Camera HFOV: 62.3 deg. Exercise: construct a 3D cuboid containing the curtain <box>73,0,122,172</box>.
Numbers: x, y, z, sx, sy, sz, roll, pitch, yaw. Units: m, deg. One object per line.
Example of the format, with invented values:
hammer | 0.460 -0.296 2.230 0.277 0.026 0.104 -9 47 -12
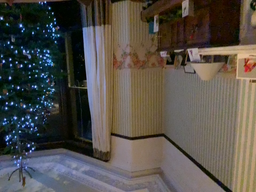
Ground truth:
curtain | -0.540 -0.270 3.950 0.710 3.330 0.350 5 -168 27
